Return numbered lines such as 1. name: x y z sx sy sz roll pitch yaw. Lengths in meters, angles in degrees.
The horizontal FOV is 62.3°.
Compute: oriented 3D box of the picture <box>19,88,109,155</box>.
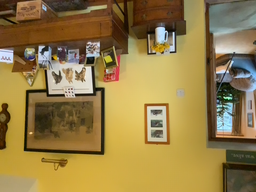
1. picture: -0.860 0.320 2.780 1.240 0.810 0.090 -1 176 14
